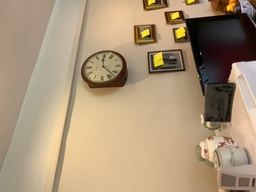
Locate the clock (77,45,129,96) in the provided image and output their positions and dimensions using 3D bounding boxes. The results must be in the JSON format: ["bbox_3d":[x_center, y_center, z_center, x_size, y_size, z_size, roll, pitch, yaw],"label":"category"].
[{"bbox_3d":[-0.180,-0.200,1.650,0.130,0.360,0.360,75,-168,-55],"label":"clock"}]
